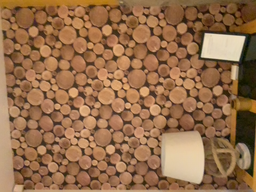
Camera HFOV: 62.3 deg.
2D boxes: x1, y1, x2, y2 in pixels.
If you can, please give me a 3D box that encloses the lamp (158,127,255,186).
[{"bbox_3d":[0.580,0.460,1.690,0.390,0.620,0.320,-82,-8,-82],"label":"lamp"}]
